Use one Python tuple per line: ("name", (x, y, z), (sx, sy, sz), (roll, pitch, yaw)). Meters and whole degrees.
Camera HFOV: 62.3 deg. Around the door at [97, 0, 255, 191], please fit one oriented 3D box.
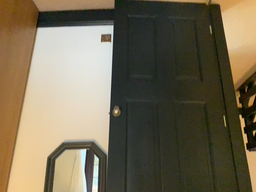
("door", (0.270, 0.170, 1.380), (0.890, 2.110, 0.080), (0, 160, 1))
